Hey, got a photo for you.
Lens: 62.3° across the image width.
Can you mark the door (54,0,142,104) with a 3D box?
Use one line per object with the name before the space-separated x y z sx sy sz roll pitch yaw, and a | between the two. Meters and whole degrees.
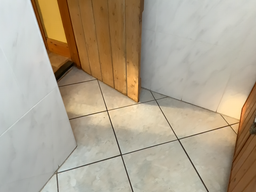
door | -0.280 -0.830 1.470 0.910 1.920 0.050 30 52 27
